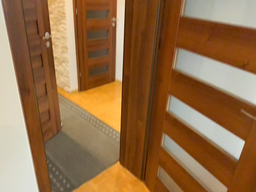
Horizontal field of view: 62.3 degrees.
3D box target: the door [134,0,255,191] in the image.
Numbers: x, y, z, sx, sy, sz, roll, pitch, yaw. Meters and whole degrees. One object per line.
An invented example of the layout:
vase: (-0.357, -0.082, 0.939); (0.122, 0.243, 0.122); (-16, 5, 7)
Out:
door: (0.380, 0.090, 1.180); (0.100, 2.110, 0.930); (-10, 29, -26)
